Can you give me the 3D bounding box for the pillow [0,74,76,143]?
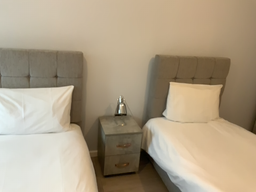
[{"bbox_3d":[-0.910,0.110,1.870,0.750,0.420,0.190,19,11,-27],"label":"pillow"}]
